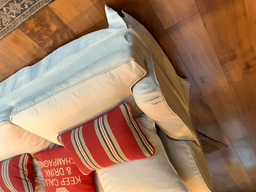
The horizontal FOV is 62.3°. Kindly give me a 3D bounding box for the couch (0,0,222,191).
[{"bbox_3d":[-0.470,0.350,1.540,1.810,0.870,0.970,-23,137,24],"label":"couch"}]

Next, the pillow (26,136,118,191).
[{"bbox_3d":[-0.400,0.570,1.480,0.500,0.430,0.250,4,158,41],"label":"pillow"}]

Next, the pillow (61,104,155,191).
[{"bbox_3d":[-0.130,0.270,1.100,0.470,0.300,0.120,26,176,45],"label":"pillow"}]
